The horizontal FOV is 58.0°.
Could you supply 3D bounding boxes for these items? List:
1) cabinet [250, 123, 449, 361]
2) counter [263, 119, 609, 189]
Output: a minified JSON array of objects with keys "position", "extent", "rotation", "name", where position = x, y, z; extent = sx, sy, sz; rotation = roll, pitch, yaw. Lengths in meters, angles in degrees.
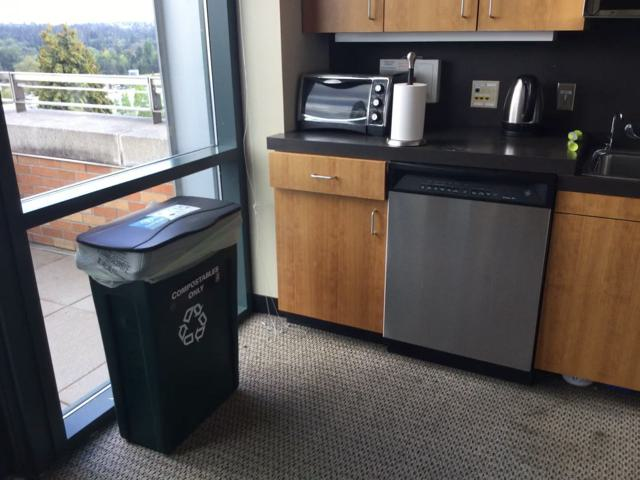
[{"position":[0.160,-0.050,2.660],"extent":[0.620,0.880,0.640],"rotation":[10,21,35],"name":"cabinet"},{"position":[0.450,-0.390,2.380],"extent":[1.210,0.120,0.690],"rotation":[10,21,35],"name":"counter"}]
